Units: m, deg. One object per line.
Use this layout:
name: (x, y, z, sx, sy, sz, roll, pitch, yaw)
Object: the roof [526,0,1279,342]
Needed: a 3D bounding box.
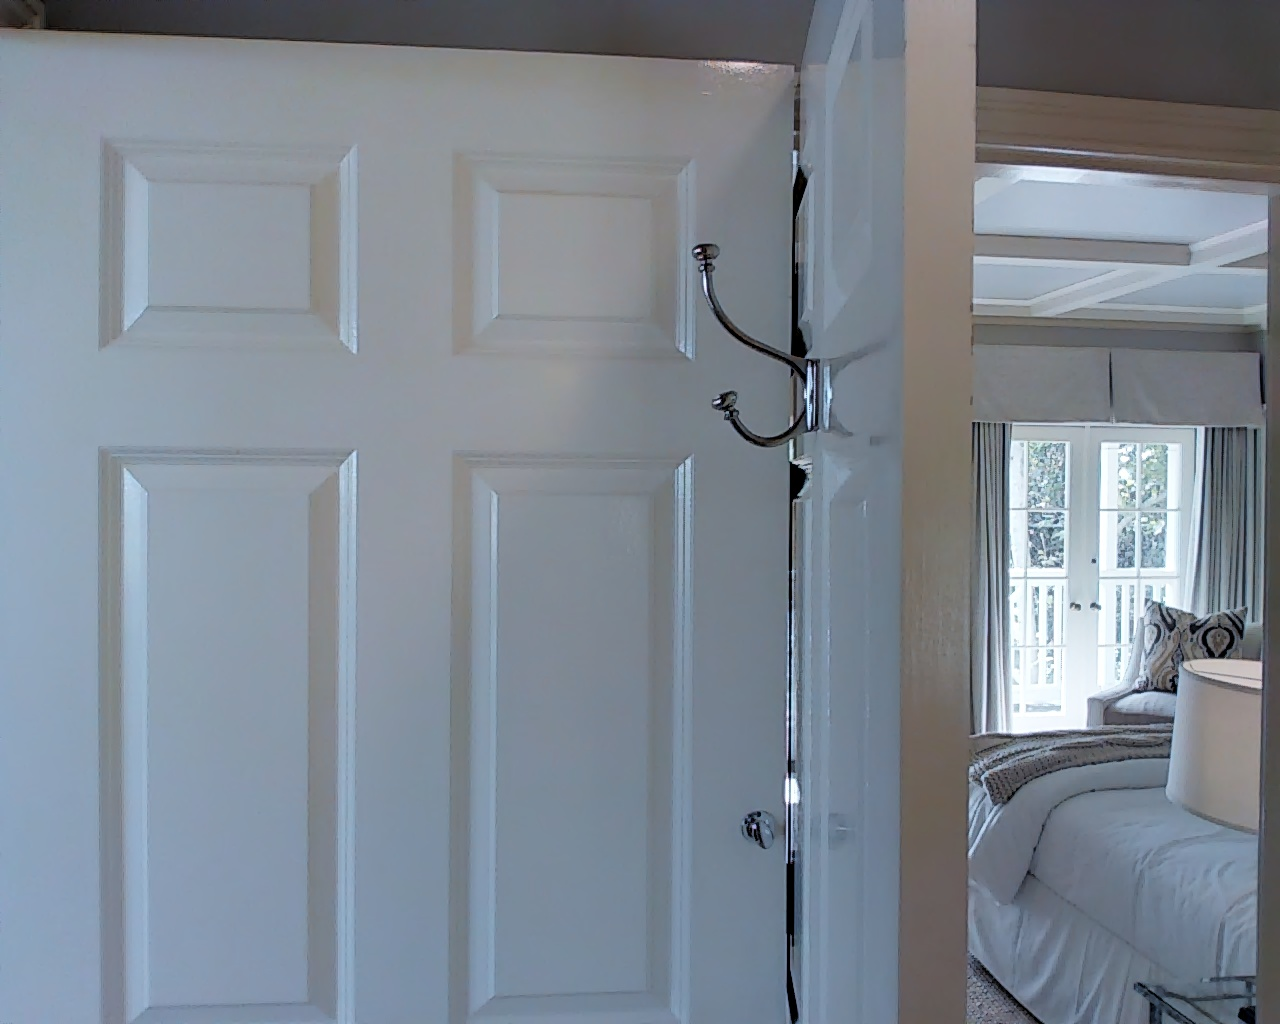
roof: (1.920, -1.100, 4.040, 4.519, 0.210, 4.470, 0, 1, -8)
